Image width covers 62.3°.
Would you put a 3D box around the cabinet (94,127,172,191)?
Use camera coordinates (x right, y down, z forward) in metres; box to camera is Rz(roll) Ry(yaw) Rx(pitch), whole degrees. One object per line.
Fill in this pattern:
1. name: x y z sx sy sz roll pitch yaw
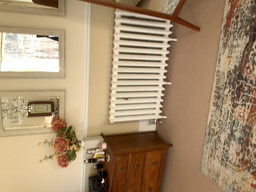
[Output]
1. cabinet: 0.040 0.990 2.880 0.520 0.860 0.940 -149 61 -64
